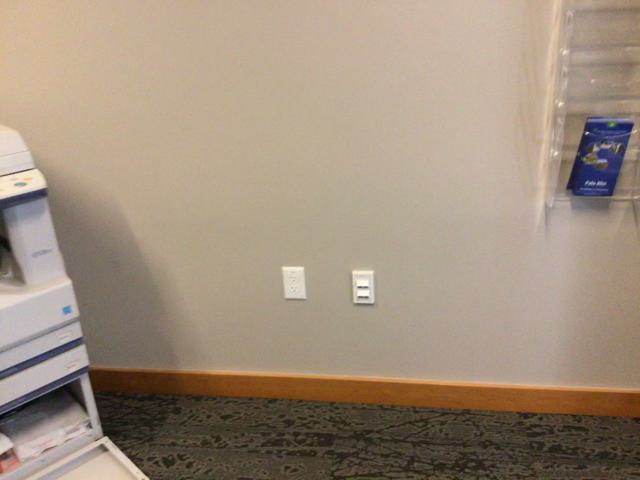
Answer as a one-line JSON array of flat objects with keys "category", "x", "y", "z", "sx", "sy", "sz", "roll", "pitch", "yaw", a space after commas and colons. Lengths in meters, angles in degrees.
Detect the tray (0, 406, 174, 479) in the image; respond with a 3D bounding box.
[{"category": "tray", "x": -0.810, "y": 0.750, "z": 1.680, "sx": 0.620, "sy": 0.060, "sz": 0.450, "roll": -21, "pitch": 28, "yaw": -37}]
